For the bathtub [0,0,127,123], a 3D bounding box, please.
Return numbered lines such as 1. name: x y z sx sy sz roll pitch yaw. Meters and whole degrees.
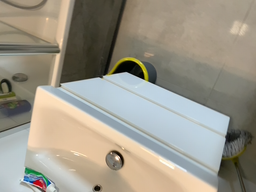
1. bathtub: -0.410 -0.770 1.260 0.700 0.550 1.620 27 112 20
